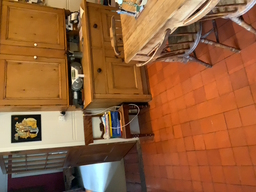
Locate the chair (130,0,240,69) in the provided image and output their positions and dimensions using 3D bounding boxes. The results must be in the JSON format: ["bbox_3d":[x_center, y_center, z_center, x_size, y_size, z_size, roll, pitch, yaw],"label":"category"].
[{"bbox_3d":[0.470,-0.530,1.800,0.390,0.780,0.430,148,120,-60],"label":"chair"}]

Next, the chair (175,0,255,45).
[{"bbox_3d":[0.720,-0.630,1.280,0.390,0.780,0.430,130,134,-53],"label":"chair"}]

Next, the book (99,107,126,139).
[{"bbox_3d":[-0.230,0.390,3.010,0.370,0.220,0.390,146,122,-59],"label":"book"}]
